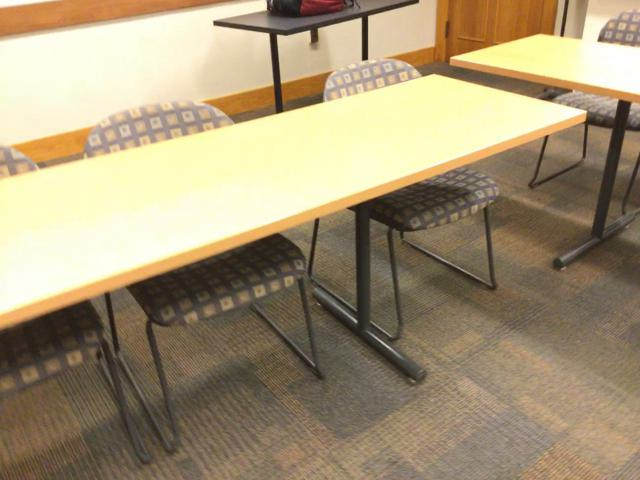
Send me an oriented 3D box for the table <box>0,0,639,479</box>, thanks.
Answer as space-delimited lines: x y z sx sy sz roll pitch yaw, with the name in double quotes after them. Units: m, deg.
0.550 0.660 0.370 3.940 0.870 4.540 -22 33 -29 "table"
